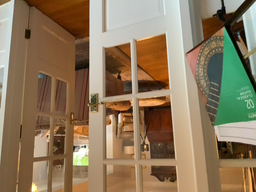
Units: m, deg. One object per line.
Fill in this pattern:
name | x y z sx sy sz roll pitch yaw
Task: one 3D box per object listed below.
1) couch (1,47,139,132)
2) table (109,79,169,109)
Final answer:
couch | -0.820 0.050 3.240 1.630 0.900 1.120 -7 167 24
table | 0.250 -0.010 4.380 1.090 0.390 0.660 -6 167 18
